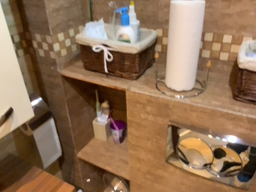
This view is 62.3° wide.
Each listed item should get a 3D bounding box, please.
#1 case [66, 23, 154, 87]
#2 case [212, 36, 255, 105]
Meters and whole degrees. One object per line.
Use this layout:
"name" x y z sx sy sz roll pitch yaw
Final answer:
"case" -0.060 -0.160 0.770 0.260 0.150 0.160 15 35 25
"case" 0.380 -0.060 0.540 0.270 0.120 0.160 14 34 24
